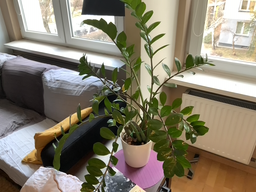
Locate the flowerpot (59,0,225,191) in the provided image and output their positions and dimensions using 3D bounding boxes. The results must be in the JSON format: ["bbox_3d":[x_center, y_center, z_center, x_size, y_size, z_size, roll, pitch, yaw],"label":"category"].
[{"bbox_3d":[0.080,-0.040,1.120,0.590,1.240,0.420,14,32,24],"label":"flowerpot"}]

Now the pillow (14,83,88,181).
[{"bbox_3d":[-0.510,0.270,1.560,0.170,0.400,0.590,22,61,5],"label":"pillow"}]
